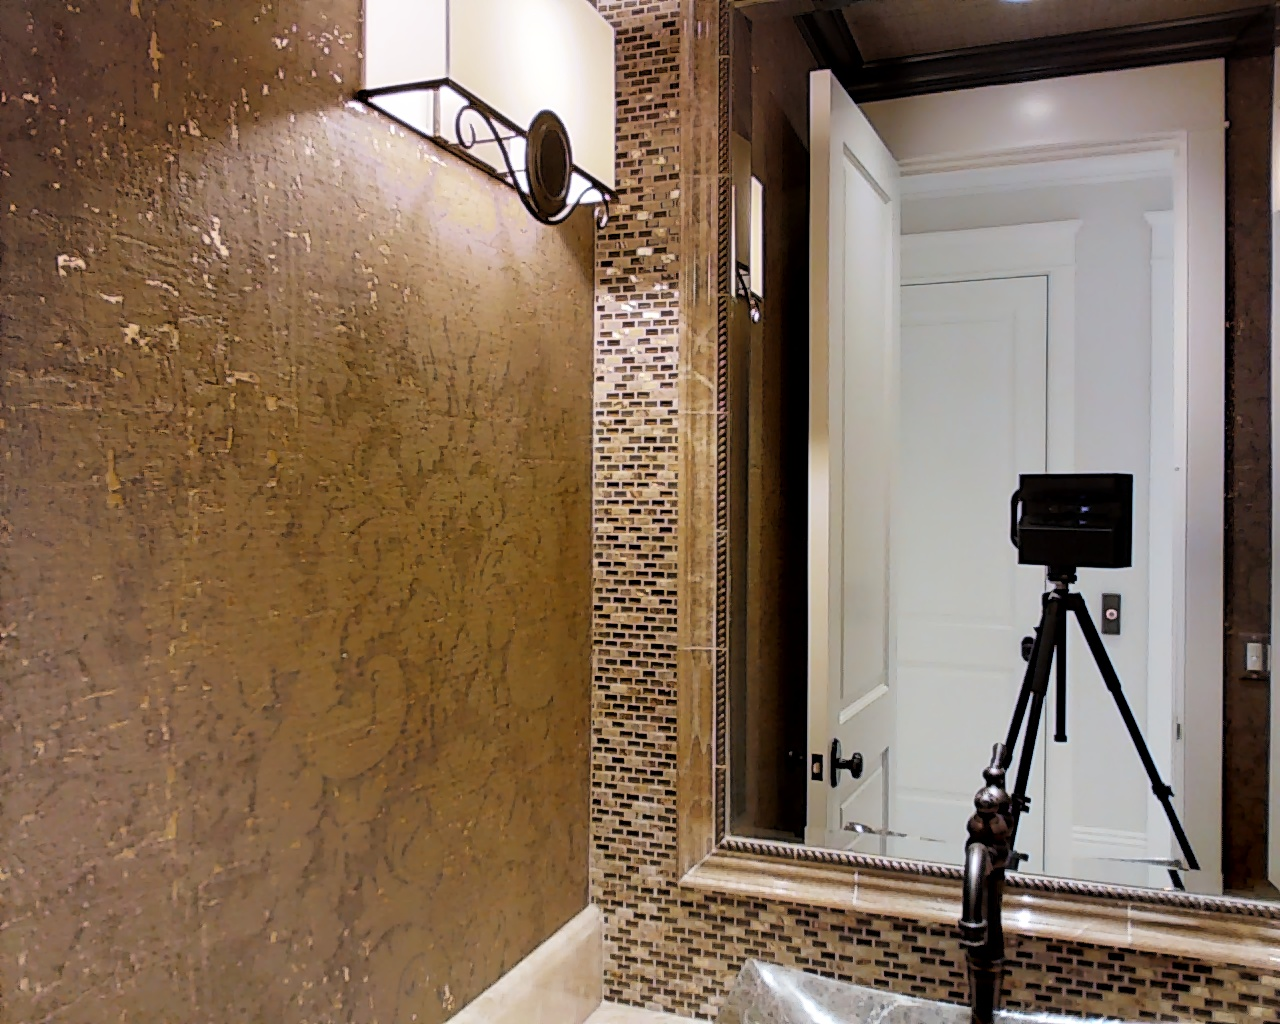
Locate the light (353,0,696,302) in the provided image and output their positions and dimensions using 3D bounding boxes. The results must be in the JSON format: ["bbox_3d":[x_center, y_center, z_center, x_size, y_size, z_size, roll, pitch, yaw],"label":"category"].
[{"bbox_3d":[-0.090,-0.460,1.130,0.140,0.380,0.490,1,0,22],"label":"light"}]
